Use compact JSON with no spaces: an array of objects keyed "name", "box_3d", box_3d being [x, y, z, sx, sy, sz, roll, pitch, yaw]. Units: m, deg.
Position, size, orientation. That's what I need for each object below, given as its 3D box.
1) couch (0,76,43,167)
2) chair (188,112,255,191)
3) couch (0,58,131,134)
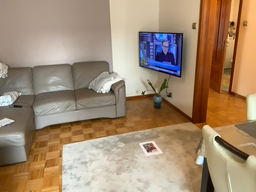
[{"name":"couch","box_3d":[-1.650,0.290,2.610,0.920,0.830,0.840,-6,19,-14]},{"name":"chair","box_3d":[0.710,0.630,1.250,0.540,0.930,0.430,-7,20,-15]},{"name":"couch","box_3d":[-1.200,-0.070,3.570,2.310,0.850,0.900,-6,19,-14]}]
